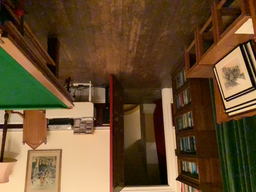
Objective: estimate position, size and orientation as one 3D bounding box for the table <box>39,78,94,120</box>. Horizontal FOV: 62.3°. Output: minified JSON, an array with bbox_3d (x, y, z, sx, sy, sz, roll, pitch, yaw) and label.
[{"bbox_3d":[-1.240,0.080,4.450,0.980,0.740,0.620,0,167,-4],"label":"table"}]

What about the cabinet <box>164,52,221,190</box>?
[{"bbox_3d":[0.930,0.380,3.330,0.380,1.860,0.950,0,167,-5],"label":"cabinet"}]

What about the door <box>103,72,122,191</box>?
[{"bbox_3d":[-0.290,0.730,4.180,0.160,2.210,0.930,-3,167,7],"label":"door"}]
